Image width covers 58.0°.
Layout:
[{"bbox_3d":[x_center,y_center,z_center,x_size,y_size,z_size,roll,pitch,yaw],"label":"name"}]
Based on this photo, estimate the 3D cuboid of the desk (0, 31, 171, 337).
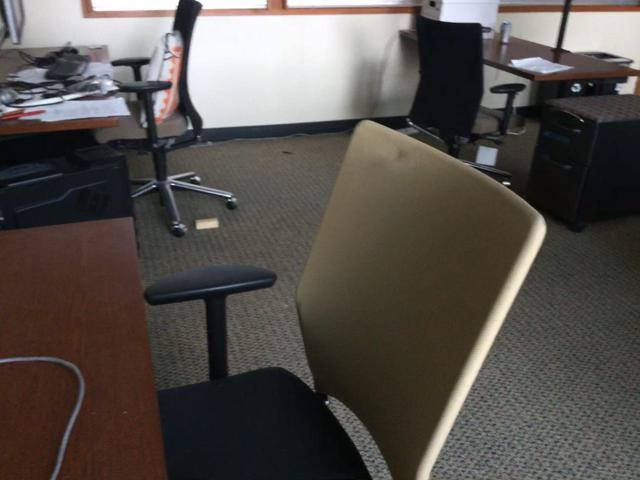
[{"bbox_3d":[-1.220,-0.380,2.590,0.800,0.850,1.530,-12,27,-14],"label":"desk"}]
